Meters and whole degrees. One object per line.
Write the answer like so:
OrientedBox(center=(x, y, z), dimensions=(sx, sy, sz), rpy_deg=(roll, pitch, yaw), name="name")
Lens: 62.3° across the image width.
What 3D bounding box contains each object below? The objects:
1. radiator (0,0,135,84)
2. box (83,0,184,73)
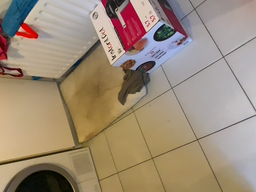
OrientedBox(center=(-0.450, -0.330, 1.420), dimensions=(0.850, 0.570, 0.090), rpy_deg=(-30, 71, 34), name="radiator")
OrientedBox(center=(0.030, -0.390, 1.190), dimensions=(0.310, 0.360, 0.380), rpy_deg=(-31, 70, 33), name="box")
